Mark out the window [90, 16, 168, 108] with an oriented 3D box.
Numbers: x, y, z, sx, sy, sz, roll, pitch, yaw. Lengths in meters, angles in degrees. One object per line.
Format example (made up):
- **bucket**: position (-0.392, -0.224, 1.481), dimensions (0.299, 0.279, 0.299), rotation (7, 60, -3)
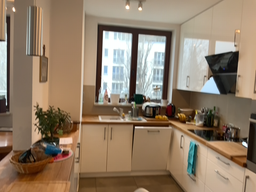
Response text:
- **window**: position (0.020, -0.600, 4.160), dimensions (1.420, 1.650, 0.210), rotation (2, 5, -14)
